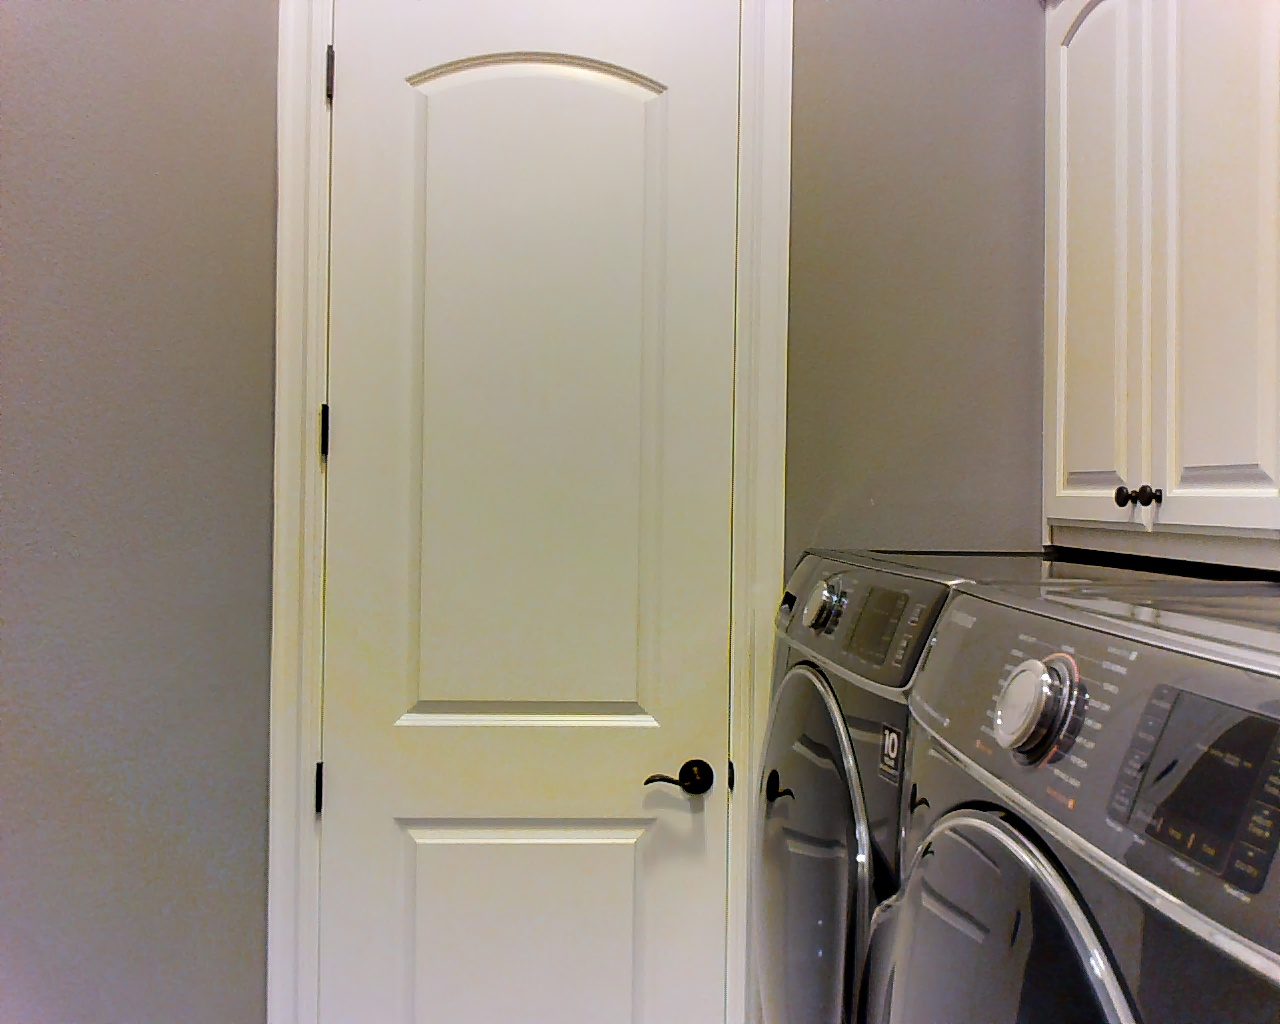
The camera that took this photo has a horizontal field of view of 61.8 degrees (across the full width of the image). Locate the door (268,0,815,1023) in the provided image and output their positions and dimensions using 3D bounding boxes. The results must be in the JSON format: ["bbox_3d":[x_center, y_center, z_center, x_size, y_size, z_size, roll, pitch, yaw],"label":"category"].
[{"bbox_3d":[-0.180,0.150,2.000,0.990,2.590,0.040,1,0,-2],"label":"door"}]
